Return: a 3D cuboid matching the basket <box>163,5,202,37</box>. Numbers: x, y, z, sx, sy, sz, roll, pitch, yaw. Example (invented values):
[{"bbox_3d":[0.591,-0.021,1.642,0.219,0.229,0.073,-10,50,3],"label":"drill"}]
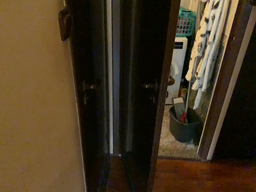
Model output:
[{"bbox_3d":[0.620,-0.900,2.510,0.340,0.240,0.480,3,32,2],"label":"basket"}]
